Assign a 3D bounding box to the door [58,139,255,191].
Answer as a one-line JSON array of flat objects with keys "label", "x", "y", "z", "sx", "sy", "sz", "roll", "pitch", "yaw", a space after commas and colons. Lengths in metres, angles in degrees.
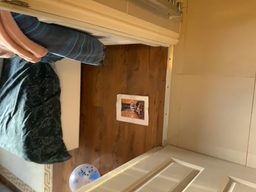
[{"label": "door", "x": -0.070, "y": 0.430, "z": 0.450, "sx": 0.730, "sy": 1.950, "sz": 0.040, "roll": 7, "pitch": 99, "yaw": 36}]
